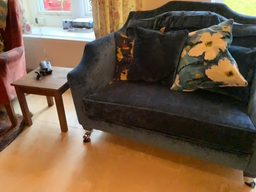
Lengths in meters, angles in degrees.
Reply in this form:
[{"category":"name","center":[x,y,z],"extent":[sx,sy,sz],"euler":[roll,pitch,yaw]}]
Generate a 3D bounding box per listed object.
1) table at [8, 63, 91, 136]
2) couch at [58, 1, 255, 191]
[{"category":"table","center":[-0.610,0.010,1.770],"extent":[0.430,0.400,0.420],"euler":[8,30,15]},{"category":"couch","center":[0.390,-0.170,1.600],"extent":[1.200,0.870,1.100],"euler":[12,32,21]}]
